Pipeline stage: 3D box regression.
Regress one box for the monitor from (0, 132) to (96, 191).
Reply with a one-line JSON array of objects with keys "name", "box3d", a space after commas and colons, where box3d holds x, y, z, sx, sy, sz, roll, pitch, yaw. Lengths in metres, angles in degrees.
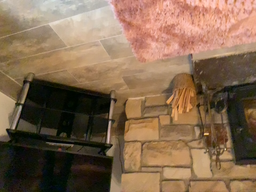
[{"name": "monitor", "box3d": [-0.730, 0.630, 1.610, 0.910, 0.620, 0.050, 13, 149, -16]}]
